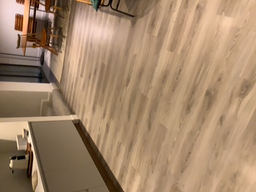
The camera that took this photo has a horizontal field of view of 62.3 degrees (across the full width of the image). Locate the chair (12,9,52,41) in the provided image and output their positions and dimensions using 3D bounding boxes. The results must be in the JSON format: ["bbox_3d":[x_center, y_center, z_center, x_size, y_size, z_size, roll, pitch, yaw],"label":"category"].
[{"bbox_3d":[-2.680,-1.950,5.890,0.590,0.880,0.570,44,125,48],"label":"chair"}]
